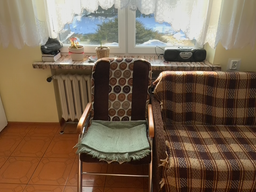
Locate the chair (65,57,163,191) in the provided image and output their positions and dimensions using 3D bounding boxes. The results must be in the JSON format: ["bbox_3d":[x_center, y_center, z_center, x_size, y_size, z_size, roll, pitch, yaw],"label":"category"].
[{"bbox_3d":[-0.060,0.220,1.890,0.610,0.890,0.860,3,26,4],"label":"chair"}]

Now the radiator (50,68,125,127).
[{"bbox_3d":[-0.430,0.030,2.470,0.790,0.670,0.190,0,26,-2],"label":"radiator"}]
